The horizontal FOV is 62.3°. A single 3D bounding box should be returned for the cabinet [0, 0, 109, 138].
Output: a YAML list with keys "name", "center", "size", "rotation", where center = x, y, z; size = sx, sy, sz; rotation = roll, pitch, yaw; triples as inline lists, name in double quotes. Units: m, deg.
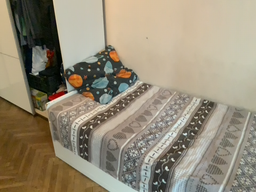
- name: "cabinet"
  center: [-1.190, -0.880, 2.490]
  size: [1.870, 2.170, 0.650]
  rotation: [18, 32, 30]
